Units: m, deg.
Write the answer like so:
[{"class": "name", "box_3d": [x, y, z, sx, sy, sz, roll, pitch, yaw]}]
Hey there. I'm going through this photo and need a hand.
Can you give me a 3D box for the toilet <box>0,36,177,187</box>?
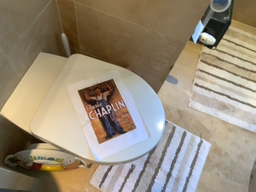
[{"class": "toilet", "box_3d": [-0.160, 0.110, 0.980, 0.570, 0.450, 0.390, 20, 64, 2]}]
